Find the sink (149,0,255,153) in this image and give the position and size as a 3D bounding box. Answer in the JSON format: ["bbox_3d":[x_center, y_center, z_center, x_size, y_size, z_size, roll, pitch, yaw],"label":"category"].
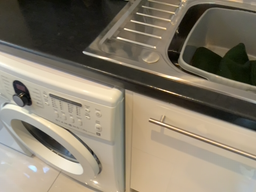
[{"bbox_3d":[0.310,-0.110,0.650,0.340,0.170,0.470,19,52,14],"label":"sink"}]
